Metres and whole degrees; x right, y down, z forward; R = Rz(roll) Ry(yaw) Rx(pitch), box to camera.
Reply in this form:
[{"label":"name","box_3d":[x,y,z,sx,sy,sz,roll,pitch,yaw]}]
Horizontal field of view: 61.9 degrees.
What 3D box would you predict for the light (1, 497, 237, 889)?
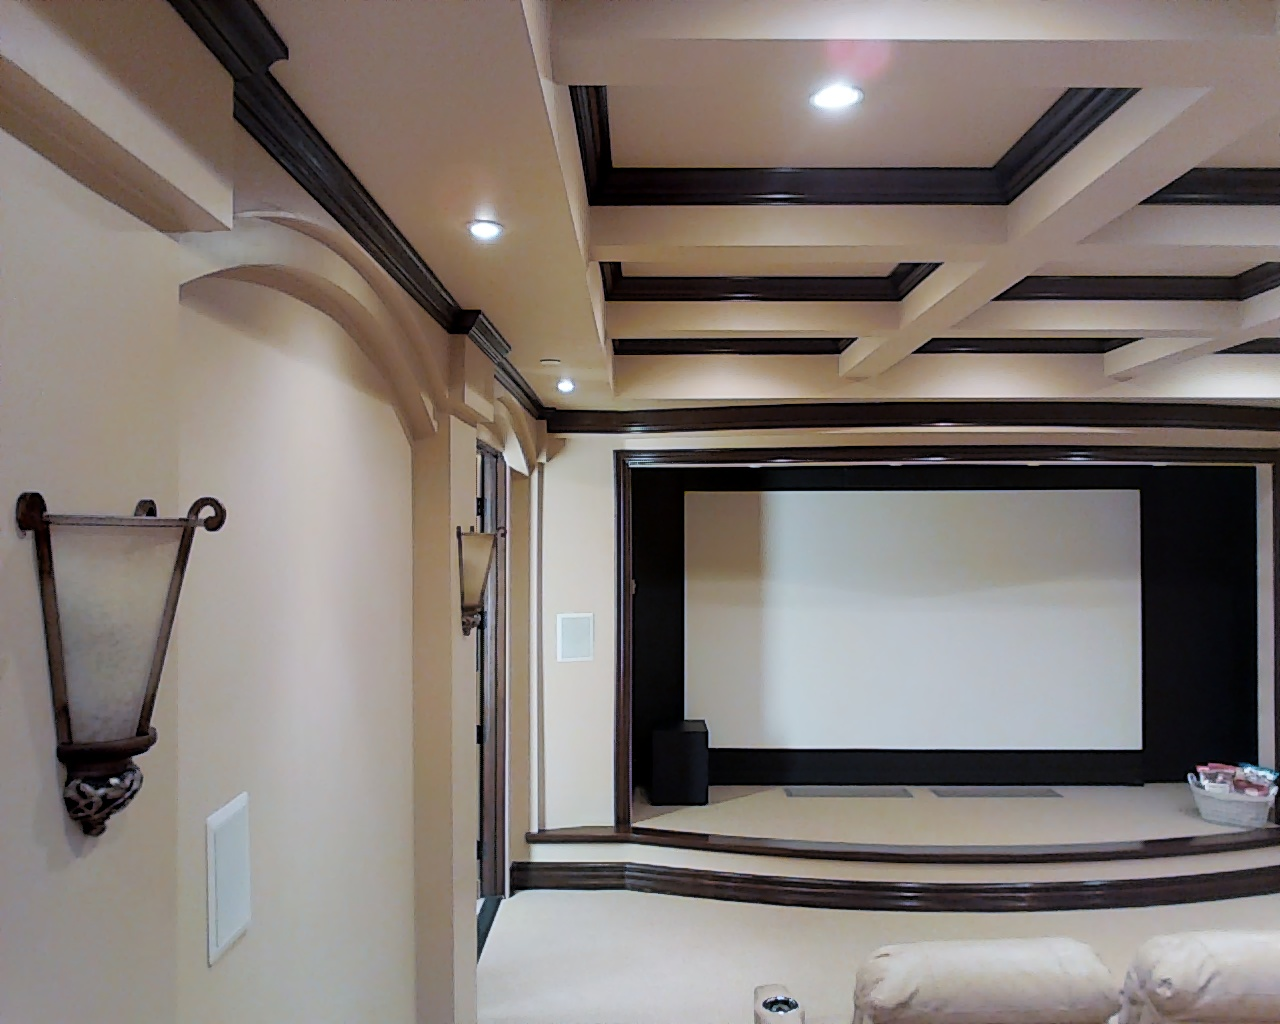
[{"label":"light","box_3d":[-0.560,0.180,1.180,0.120,0.380,0.280,0,-2,0]}]
